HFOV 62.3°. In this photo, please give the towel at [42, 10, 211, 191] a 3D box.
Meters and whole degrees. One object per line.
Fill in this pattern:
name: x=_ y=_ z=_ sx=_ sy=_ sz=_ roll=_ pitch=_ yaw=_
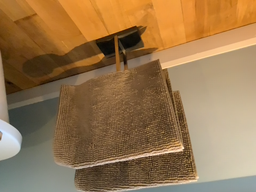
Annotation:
towel: x=-0.030 y=0.060 z=1.150 sx=0.690 sy=0.870 sz=0.310 roll=-14 pitch=150 yaw=14
